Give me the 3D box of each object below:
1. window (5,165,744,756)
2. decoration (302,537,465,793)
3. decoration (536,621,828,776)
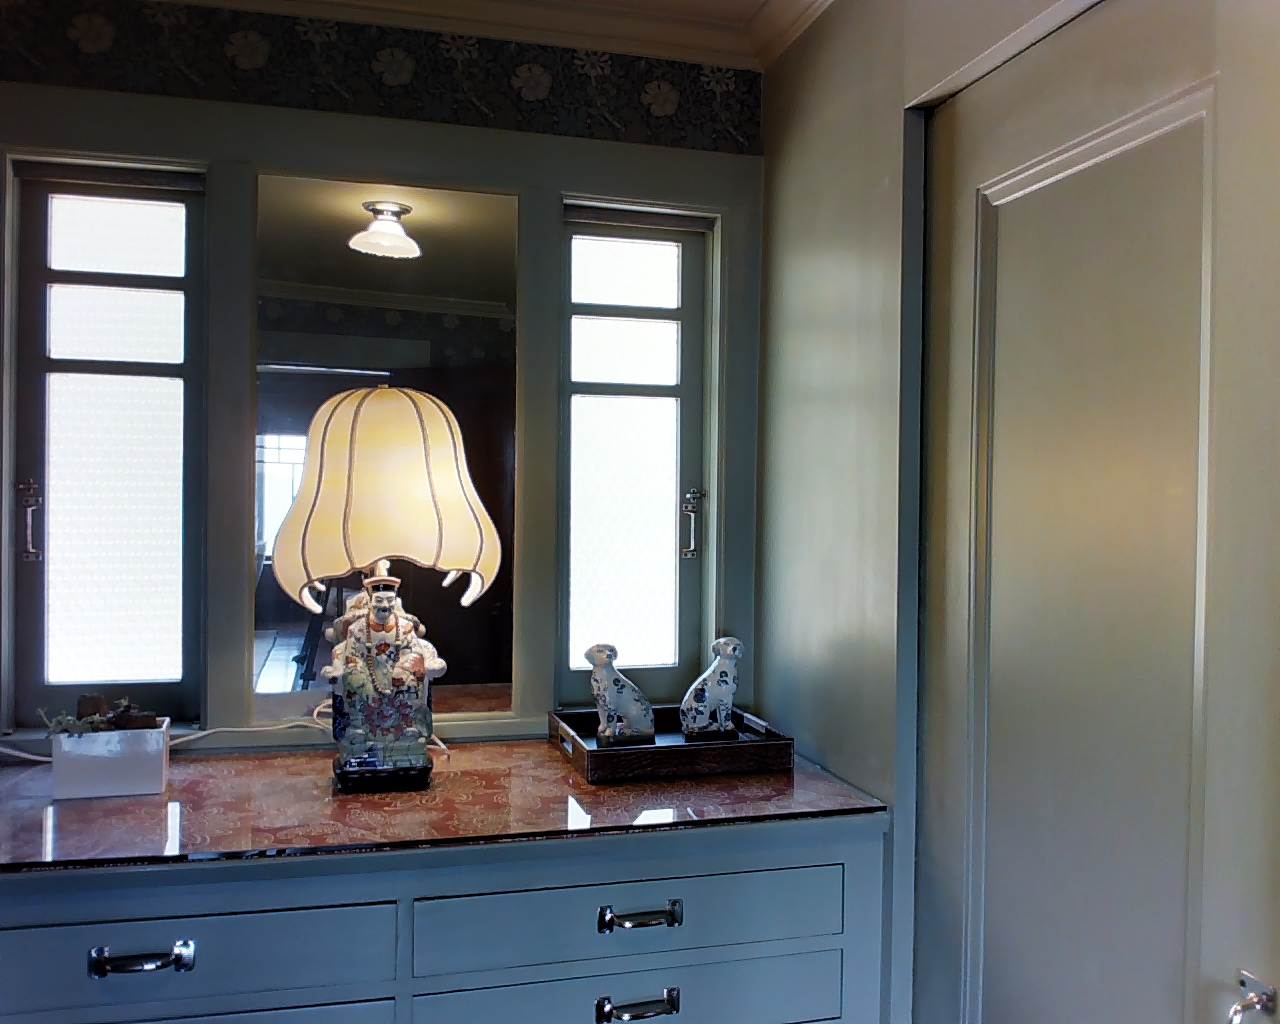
[{"bbox_3d":[-0.470,-0.080,2.170,1.410,1.070,0.050,1,0,-16],"label":"window"},{"bbox_3d":[-0.460,0.250,1.910,0.250,0.400,0.320,1,0,-16],"label":"decoration"},{"bbox_3d":[0.060,0.340,2.080,0.440,0.210,0.450,1,0,-16],"label":"decoration"}]
